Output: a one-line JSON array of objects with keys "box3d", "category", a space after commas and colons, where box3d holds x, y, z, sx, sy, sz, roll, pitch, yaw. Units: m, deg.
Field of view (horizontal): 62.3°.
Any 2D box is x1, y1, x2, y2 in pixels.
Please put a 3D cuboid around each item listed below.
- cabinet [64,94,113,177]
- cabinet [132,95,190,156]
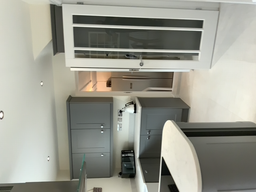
[{"box3d": [-0.730, 0.770, 4.080, 0.310, 0.850, 1.590, -110, 21, -72], "category": "cabinet"}, {"box3d": [0.570, 0.530, 4.000, 0.590, 0.890, 0.980, -111, 22, -73], "category": "cabinet"}]
